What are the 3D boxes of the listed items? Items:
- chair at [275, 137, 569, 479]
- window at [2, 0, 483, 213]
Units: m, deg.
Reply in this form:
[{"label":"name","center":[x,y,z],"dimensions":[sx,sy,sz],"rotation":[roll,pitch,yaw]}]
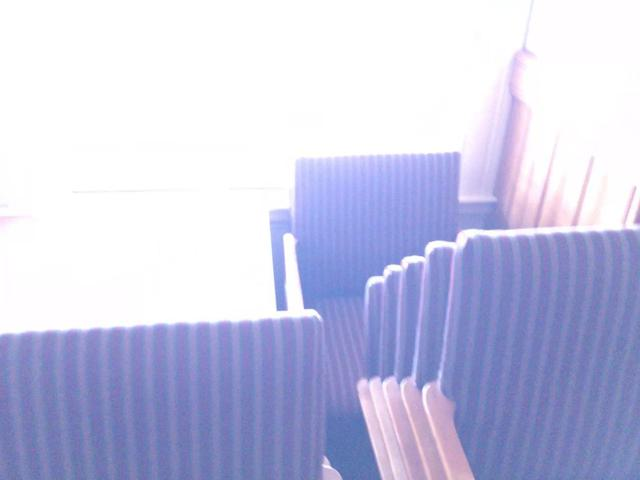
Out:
[{"label":"chair","center":[0.160,0.210,1.580],"dimensions":[0.510,0.810,0.750],"rotation":[-1,24,-8]},{"label":"window","center":[-0.200,-0.450,1.730],"dimensions":[1.190,0.610,0.410],"rotation":[-1,24,-8]}]
